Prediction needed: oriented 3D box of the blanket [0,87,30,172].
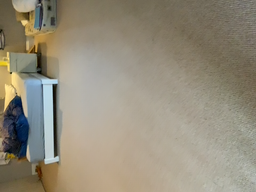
[{"bbox_3d":[-2.020,0.480,3.650,1.190,0.390,1.080,20,110,54],"label":"blanket"}]
